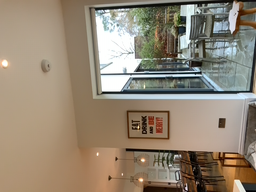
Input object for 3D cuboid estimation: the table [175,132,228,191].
[{"bbox_3d":[1.710,2.060,5.310,3.090,0.800,1.020,-64,-27,-72],"label":"table"}]
